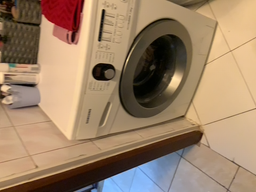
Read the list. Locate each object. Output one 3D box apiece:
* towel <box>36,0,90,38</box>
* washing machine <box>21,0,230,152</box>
[{"bbox_3d":[-0.240,-0.330,0.760,0.260,0.070,0.170,34,117,41],"label":"towel"},{"bbox_3d":[-0.030,-0.220,1.180,0.640,0.840,0.600,32,116,41],"label":"washing machine"}]
